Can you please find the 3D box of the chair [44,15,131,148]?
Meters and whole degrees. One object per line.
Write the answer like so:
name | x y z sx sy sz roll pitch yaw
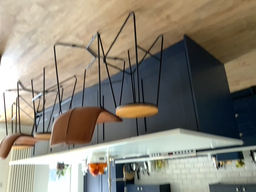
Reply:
chair | -0.340 -0.070 1.800 0.480 0.940 0.470 -20 155 40

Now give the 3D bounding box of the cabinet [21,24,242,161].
cabinet | -0.300 0.320 2.930 3.030 0.910 0.990 -19 156 39
